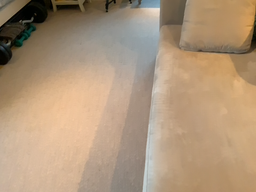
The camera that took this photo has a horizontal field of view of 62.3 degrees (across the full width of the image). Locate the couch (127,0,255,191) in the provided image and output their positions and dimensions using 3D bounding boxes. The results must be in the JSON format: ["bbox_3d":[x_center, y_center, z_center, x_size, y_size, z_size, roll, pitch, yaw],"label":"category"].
[{"bbox_3d":[0.700,-0.110,1.270,1.140,0.680,1.650,3,45,9],"label":"couch"}]
